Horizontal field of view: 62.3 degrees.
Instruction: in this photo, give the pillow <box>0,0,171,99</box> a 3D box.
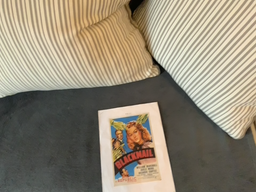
[{"bbox_3d":[-0.240,-0.240,0.660,0.650,0.400,0.340,-4,67,2],"label":"pillow"}]
